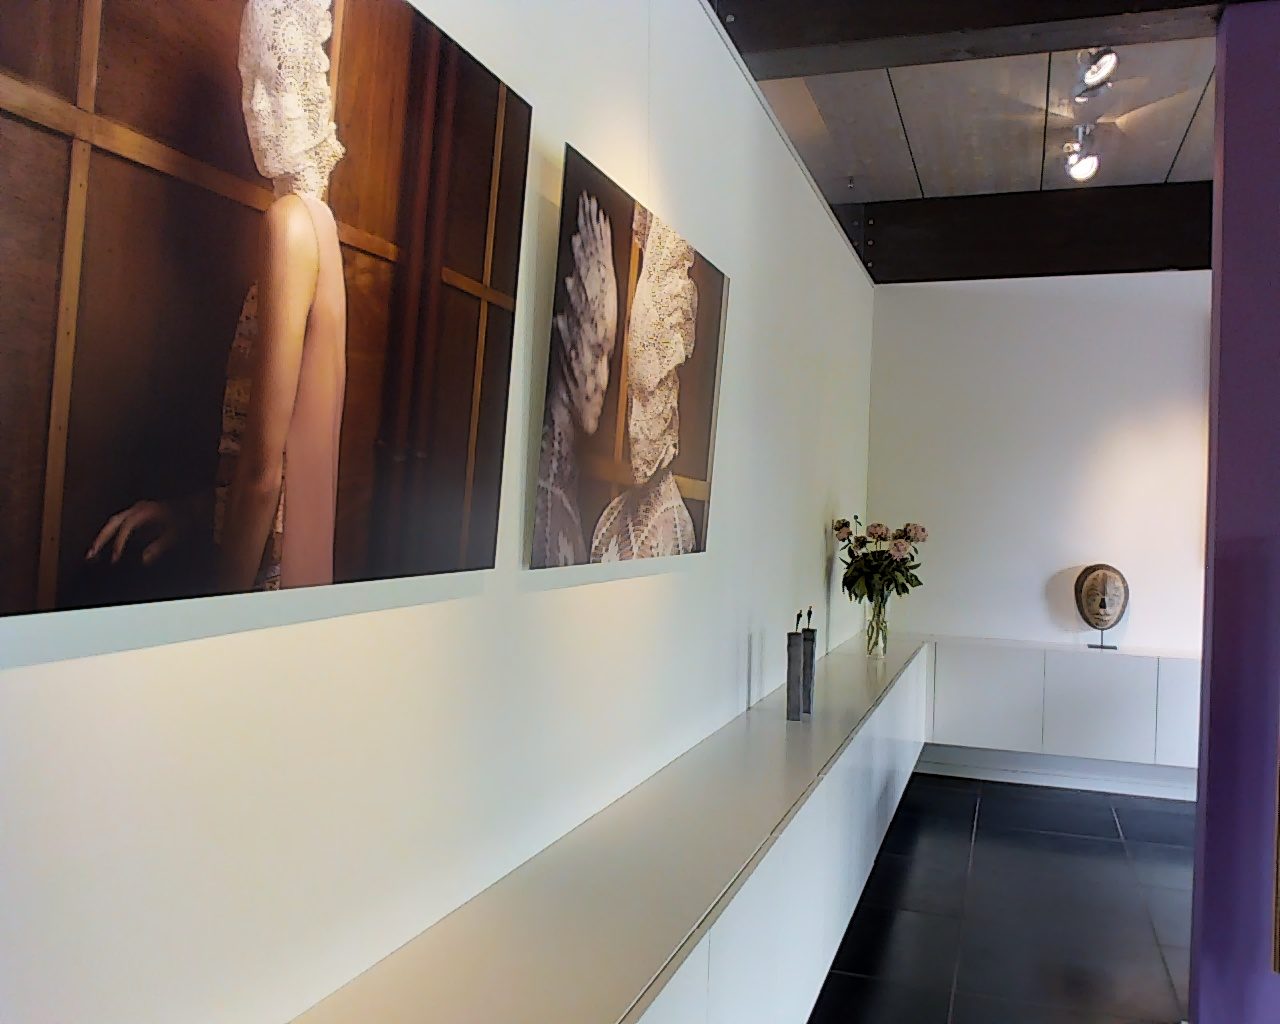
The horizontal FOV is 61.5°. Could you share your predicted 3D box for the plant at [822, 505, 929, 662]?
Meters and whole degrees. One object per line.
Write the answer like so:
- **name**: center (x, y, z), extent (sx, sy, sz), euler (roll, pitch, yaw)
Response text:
- **plant**: center (1.050, 0.300, 4.760), extent (0.390, 0.640, 0.450), euler (2, 0, 19)
